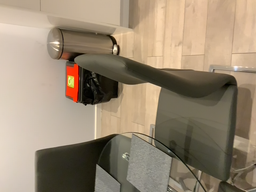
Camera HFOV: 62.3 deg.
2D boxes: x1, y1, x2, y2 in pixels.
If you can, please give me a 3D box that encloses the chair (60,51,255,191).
[{"bbox_3d":[0.260,0.100,1.040,0.460,1.020,0.540,15,104,49],"label":"chair"}]
